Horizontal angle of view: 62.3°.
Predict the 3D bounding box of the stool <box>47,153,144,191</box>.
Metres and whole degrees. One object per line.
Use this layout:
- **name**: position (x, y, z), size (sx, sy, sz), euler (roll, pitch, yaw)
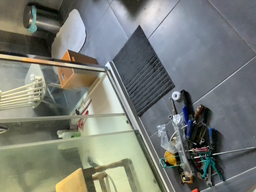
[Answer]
- **stool**: position (-0.250, 0.760, 1.610), size (0.540, 0.460, 0.380), euler (-44, 59, 36)
